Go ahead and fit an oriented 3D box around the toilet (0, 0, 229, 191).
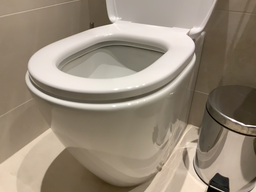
[{"bbox_3d":[-0.010,-0.150,0.560,0.390,0.850,0.540,18,38,26],"label":"toilet"}]
